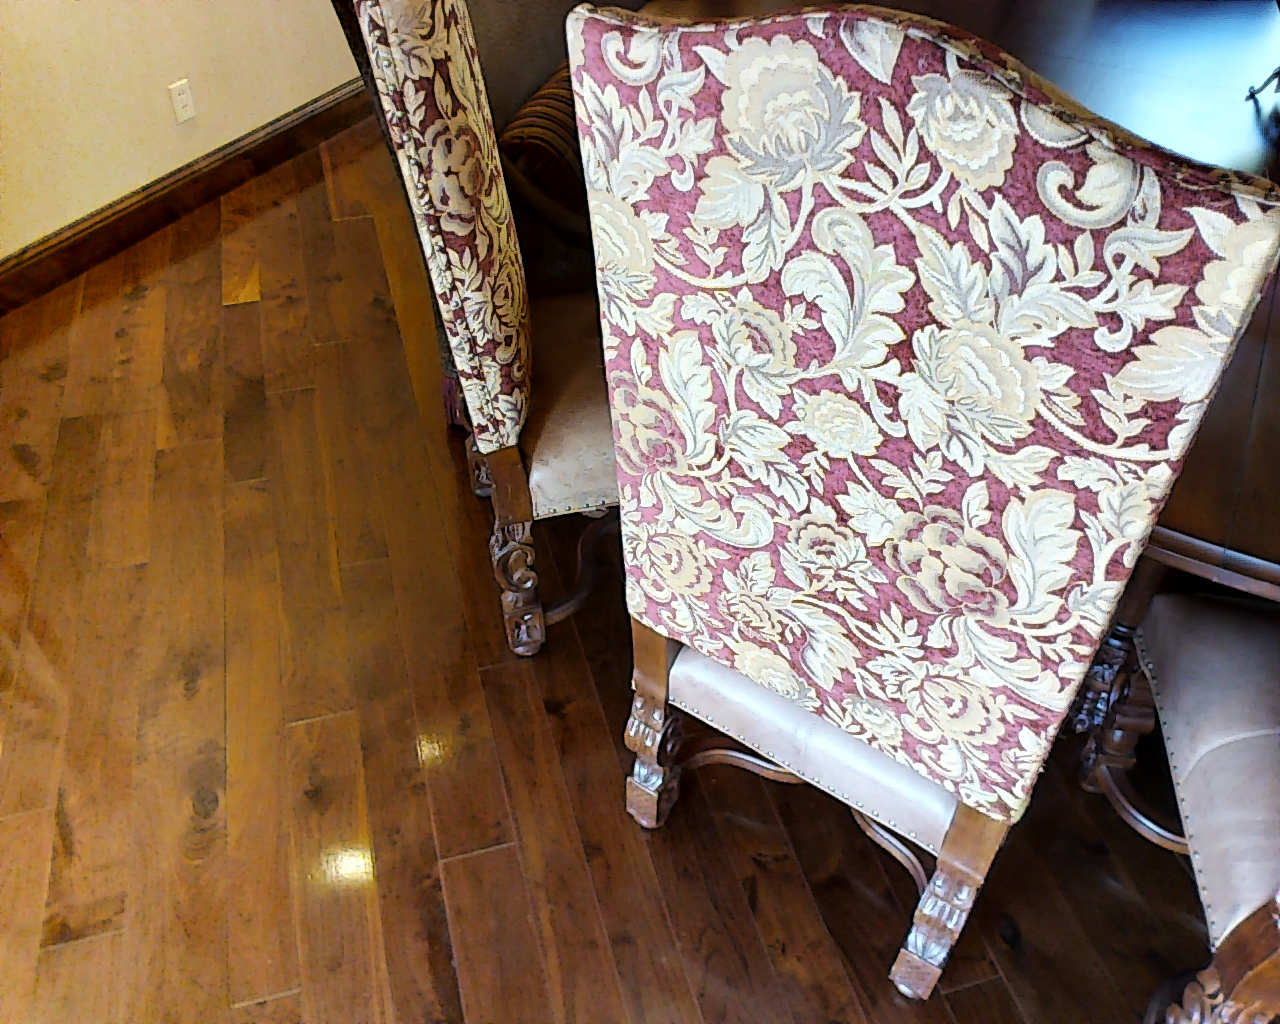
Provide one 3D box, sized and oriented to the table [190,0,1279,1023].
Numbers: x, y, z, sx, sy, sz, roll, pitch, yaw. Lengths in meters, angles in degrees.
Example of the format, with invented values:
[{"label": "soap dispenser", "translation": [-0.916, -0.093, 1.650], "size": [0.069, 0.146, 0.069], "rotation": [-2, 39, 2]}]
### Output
[{"label": "table", "translation": [1.260, -0.470, 2.250], "size": [2.750, 0.790, 2.900], "rotation": [21, 46, 21]}]
